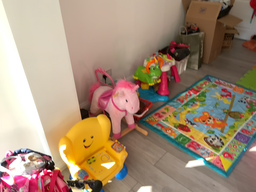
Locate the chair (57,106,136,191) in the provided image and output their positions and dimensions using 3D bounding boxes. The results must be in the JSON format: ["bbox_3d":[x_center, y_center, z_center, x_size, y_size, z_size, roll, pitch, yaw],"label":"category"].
[{"bbox_3d":[-0.220,0.410,1.660,0.340,0.400,0.460,28,43,36],"label":"chair"}]
